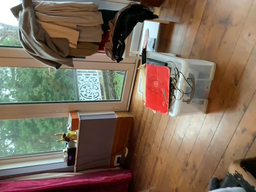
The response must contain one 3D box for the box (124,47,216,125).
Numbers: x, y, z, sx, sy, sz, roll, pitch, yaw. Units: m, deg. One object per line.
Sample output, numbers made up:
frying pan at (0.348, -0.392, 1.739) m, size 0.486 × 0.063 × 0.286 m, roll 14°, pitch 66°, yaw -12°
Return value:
box at (0.300, -0.130, 1.840) m, size 0.700 × 0.400 × 0.470 m, roll -140°, pitch 52°, yaw -60°
